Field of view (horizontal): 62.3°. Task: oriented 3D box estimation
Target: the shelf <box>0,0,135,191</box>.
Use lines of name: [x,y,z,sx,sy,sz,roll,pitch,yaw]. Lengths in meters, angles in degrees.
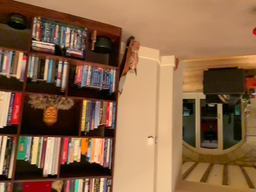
shelf: [-0.660,0.160,1.980,1.330,1.870,0.380,6,171,-22]
